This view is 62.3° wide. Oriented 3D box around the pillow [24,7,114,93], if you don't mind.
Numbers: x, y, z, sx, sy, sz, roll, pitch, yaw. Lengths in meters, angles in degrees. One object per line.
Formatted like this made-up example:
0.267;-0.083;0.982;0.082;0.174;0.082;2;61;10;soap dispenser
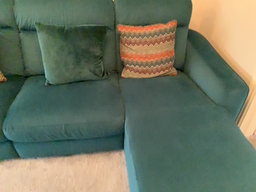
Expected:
-0.390;-0.320;1.510;0.450;0.410;0.250;-19;39;0;pillow

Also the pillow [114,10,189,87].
0.190;-0.360;1.650;0.470;0.400;0.210;-20;39;1;pillow
